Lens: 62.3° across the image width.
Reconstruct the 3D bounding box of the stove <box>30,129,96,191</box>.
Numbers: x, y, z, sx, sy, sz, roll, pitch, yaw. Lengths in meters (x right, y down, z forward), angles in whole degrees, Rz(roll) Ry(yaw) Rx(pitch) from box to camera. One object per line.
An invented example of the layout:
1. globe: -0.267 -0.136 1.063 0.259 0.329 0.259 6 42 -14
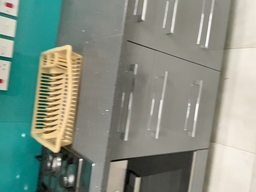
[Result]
1. stove: -0.350 0.510 0.990 0.540 0.040 0.600 10 92 49
